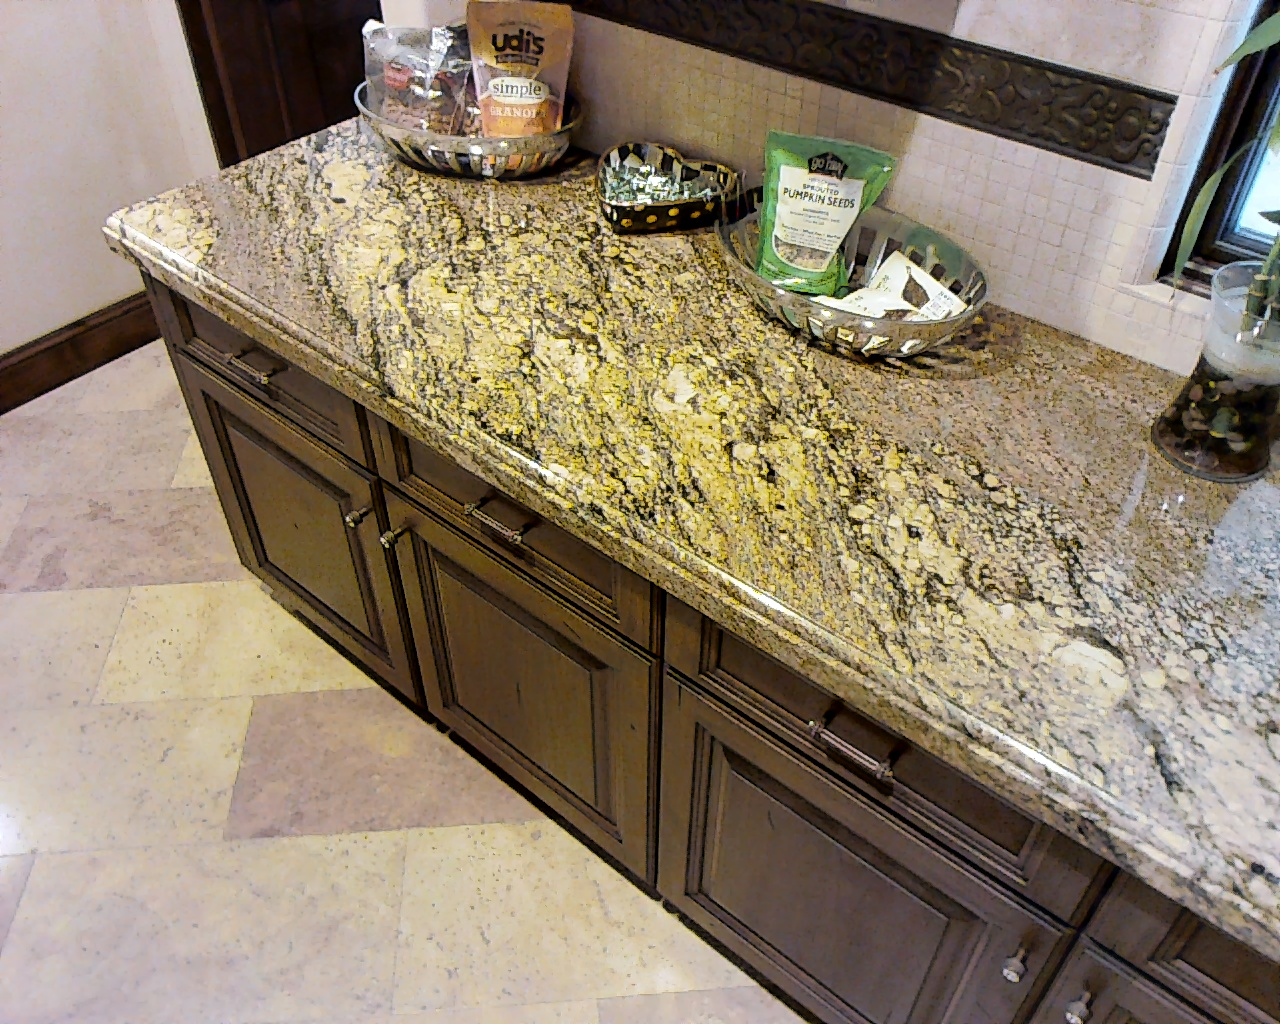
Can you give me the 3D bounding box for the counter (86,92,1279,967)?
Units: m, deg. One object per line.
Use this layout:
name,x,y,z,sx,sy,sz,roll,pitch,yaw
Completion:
counter,0.190,-0.120,1.270,2.150,0.030,0.630,30,50,29

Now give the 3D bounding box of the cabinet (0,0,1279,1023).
cabinet,0.200,-0.400,1.040,2.200,2.390,0.670,30,50,29
